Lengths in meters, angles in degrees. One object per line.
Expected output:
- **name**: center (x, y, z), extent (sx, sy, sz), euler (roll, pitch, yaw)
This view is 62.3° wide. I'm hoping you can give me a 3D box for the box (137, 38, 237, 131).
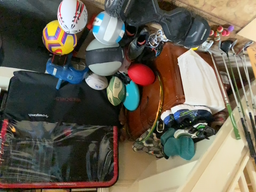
- **box**: center (0.420, -0.070, 1.700), extent (0.550, 0.590, 0.390), euler (4, 150, -16)
